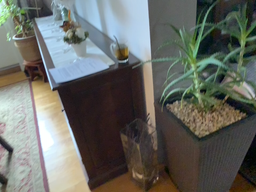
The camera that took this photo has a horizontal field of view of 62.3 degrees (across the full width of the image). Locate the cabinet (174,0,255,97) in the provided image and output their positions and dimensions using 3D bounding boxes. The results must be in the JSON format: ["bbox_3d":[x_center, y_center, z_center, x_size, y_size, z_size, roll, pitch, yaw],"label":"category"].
[{"bbox_3d":[1.300,-1.150,2.740,1.350,1.980,0.490,-22,36,-21],"label":"cabinet"}]

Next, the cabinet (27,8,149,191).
[{"bbox_3d":[-0.540,-0.230,2.150,0.530,0.880,2.020,-19,35,-17],"label":"cabinet"}]
